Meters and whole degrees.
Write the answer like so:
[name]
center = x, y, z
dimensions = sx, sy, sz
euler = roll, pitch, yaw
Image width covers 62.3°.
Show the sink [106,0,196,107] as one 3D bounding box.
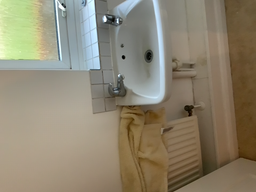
[sink]
center = 0.090, -0.190, 0.950
dimensions = 0.300, 0.210, 0.450
euler = -6, 89, 53
